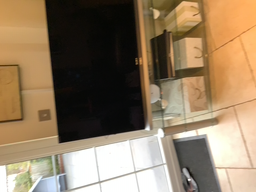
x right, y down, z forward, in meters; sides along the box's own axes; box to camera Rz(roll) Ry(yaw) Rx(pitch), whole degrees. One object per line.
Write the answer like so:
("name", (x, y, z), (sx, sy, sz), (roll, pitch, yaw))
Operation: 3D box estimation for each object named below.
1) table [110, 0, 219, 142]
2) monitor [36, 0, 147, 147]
("table", (0.280, -0.280, 1.870), (0.630, 0.560, 1.180), (-7, 89, 64))
("monitor", (-0.240, -0.250, 1.570), (0.060, 0.630, 1.090), (-6, 96, 62))
